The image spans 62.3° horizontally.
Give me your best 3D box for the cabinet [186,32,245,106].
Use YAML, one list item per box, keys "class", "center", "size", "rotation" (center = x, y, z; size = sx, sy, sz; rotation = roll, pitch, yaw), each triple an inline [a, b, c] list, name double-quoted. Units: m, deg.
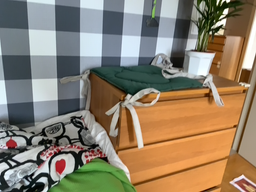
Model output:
- class: "cabinet"
  center: [1.590, -0.520, 3.970]
  size: [0.530, 1.240, 0.600]
  rotation: [-7, 21, -31]
